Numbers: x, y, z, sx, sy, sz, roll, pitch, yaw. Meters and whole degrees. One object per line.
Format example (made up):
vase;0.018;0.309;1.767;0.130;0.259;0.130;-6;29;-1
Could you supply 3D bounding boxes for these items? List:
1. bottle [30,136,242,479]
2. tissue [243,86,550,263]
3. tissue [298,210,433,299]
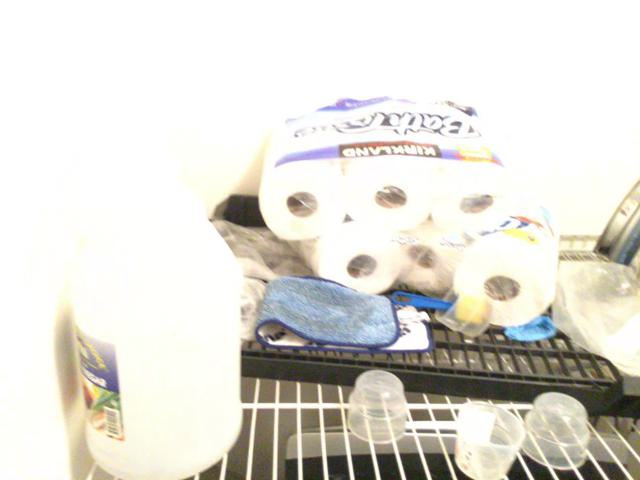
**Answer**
bottle;-0.150;0.070;0.550;0.130;0.300;0.170;1;22;-3
tissue;0.090;-0.110;0.880;0.390;0.200;0.250;1;22;-3
tissue;0.060;0.020;0.840;0.180;0.100;0.090;1;22;-3
